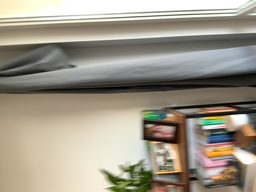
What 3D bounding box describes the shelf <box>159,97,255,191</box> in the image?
[{"bbox_3d":[0.930,0.290,1.370,0.450,1.350,0.530,-149,55,-83],"label":"shelf"}]
